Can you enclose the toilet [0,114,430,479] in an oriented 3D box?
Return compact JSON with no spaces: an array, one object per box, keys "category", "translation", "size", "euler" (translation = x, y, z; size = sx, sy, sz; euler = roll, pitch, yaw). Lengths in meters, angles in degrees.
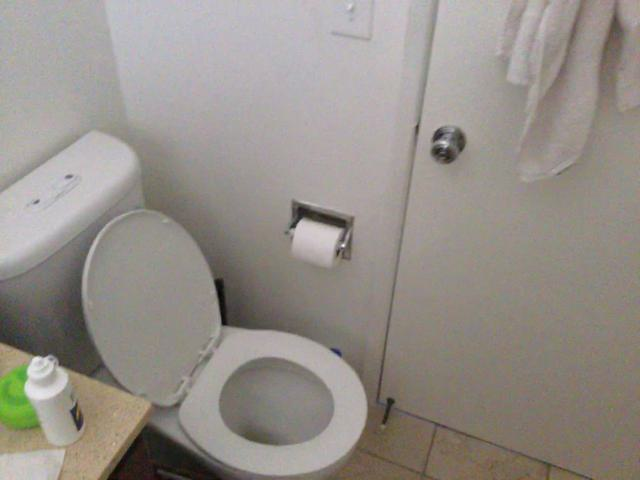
[{"category":"toilet","translation":[-0.240,0.270,1.280],"size":[0.750,0.810,0.520],"euler":[15,41,18]}]
